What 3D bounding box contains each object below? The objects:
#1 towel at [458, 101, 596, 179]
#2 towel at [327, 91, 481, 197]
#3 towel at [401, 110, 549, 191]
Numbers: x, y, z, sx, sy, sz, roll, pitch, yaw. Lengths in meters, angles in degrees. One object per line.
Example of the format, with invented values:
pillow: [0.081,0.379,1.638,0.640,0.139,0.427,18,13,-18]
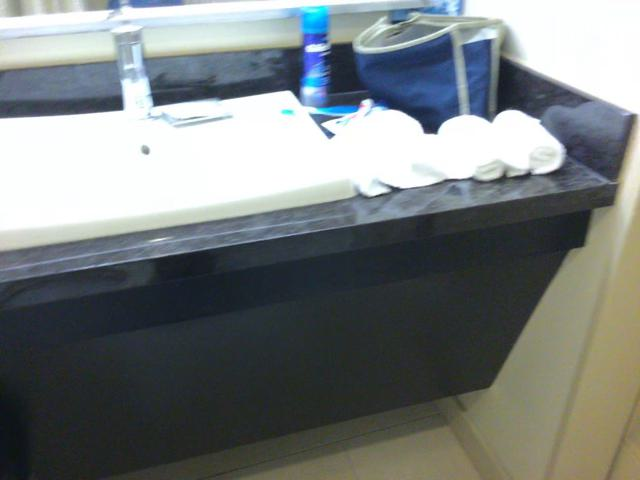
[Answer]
towel: [0.330,-0.170,0.950,0.110,0.050,0.210,-9,31,-15]
towel: [0.120,-0.160,0.910,0.160,0.080,0.220,-9,31,-15]
towel: [0.240,-0.150,0.930,0.150,0.050,0.190,-9,31,-15]
